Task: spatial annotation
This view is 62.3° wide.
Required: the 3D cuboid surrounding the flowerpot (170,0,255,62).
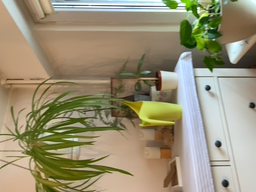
[{"bbox_3d":[0.450,-0.370,1.060,0.260,0.400,0.300,98,172,-70],"label":"flowerpot"}]
